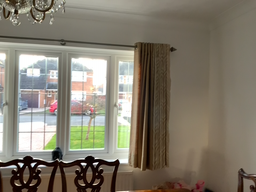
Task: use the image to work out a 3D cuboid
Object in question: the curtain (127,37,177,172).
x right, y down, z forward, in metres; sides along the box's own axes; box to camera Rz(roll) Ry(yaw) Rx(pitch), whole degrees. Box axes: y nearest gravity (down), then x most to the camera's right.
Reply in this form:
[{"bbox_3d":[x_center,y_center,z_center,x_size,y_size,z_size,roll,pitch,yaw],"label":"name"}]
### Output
[{"bbox_3d":[0.270,0.100,2.430,0.510,1.460,0.180,1,0,-10],"label":"curtain"}]
